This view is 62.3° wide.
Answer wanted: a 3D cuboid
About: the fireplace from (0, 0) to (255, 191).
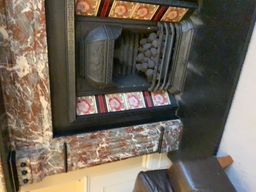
[{"bbox_3d":[-0.090,-0.160,1.240,0.700,1.270,1.820,-138,47,-57],"label":"fireplace"}]
